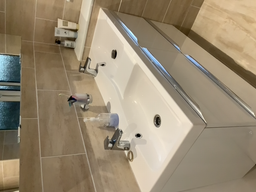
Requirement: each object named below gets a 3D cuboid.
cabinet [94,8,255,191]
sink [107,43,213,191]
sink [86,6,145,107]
[{"bbox_3d":[0.280,-0.100,1.420,1.210,0.670,0.440,60,139,45],"label":"cabinet"},{"bbox_3d":[0.080,0.080,1.040,0.590,0.100,0.440,60,139,45],"label":"sink"},{"bbox_3d":[-0.130,-0.290,1.470,0.620,0.110,0.440,60,139,45],"label":"sink"}]
